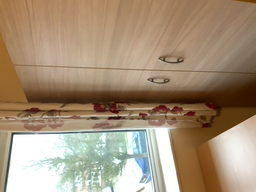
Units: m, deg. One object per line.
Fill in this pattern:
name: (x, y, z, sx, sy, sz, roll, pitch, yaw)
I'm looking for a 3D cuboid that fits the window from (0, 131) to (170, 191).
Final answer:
window: (-0.240, 0.660, 1.190, 0.080, 1.030, 0.900, 116, 151, -59)
